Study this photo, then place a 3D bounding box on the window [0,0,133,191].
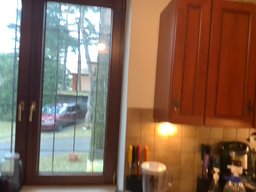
[{"bbox_3d":[-0.790,-0.050,1.590,1.540,1.700,0.350,3,1,-7],"label":"window"}]
